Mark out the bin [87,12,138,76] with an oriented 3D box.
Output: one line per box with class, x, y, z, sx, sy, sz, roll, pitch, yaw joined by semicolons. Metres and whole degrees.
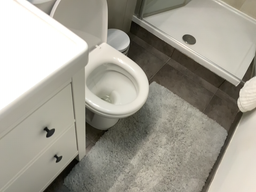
bin;-0.120;-0.360;1.500;0.230;0.290;0.240;36;58;11
